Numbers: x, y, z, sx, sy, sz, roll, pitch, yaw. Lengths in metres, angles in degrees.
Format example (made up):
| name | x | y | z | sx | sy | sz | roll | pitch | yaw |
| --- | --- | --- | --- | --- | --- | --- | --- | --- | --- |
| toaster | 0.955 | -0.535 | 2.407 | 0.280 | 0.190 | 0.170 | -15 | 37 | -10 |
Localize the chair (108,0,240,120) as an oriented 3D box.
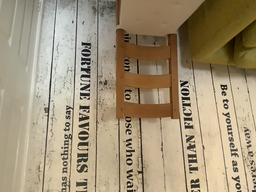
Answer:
| name | x | y | z | sx | sy | sz | roll | pitch | yaw |
| --- | --- | --- | --- | --- | --- | --- | --- | --- | --- |
| chair | 0.160 | -0.410 | 1.260 | 0.470 | 1.000 | 0.620 | 2 | 164 | -13 |
